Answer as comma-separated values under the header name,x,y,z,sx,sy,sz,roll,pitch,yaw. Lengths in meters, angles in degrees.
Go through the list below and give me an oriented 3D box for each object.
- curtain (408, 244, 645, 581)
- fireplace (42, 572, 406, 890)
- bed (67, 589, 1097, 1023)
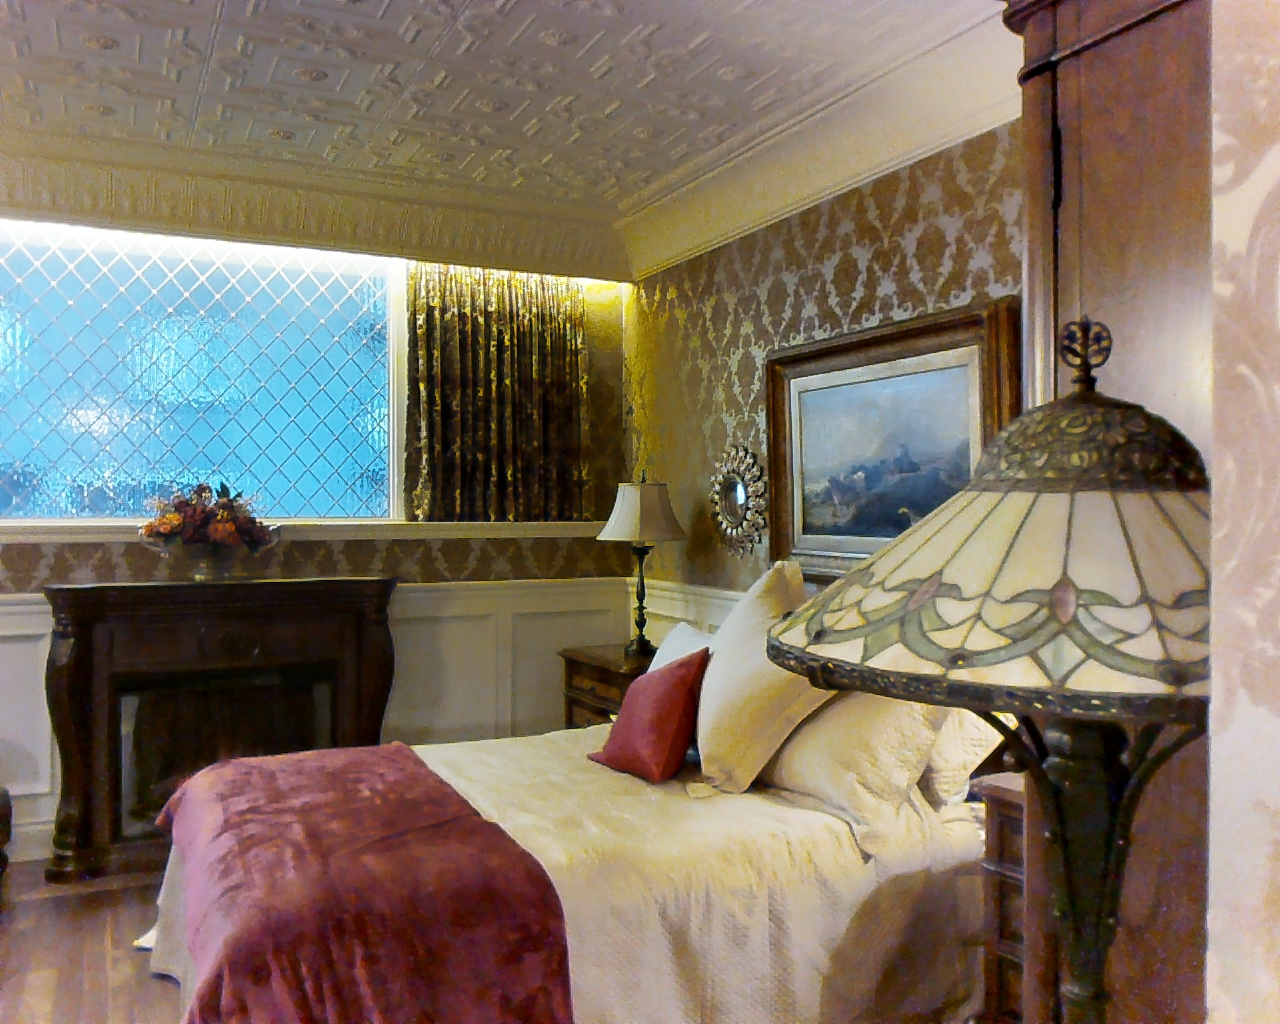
name,x,y,z,sx,sy,sz,roll,pitch,yaw
curtain,-0.550,-0.460,5.330,1.150,1.560,0.250,0,0,-25
fireplace,-1.700,0.840,4.480,1.360,1.130,0.420,0,0,-25
bed,-0.280,0.870,3.240,2.460,1.080,1.890,0,0,-25
